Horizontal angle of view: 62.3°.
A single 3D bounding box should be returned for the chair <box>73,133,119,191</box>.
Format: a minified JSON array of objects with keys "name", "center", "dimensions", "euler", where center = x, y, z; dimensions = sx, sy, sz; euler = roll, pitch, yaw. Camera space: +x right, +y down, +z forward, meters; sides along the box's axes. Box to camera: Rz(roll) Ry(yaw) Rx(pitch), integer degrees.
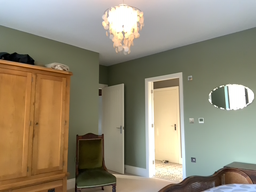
[{"name":"chair","center":[-0.550,1.090,3.480],"dimensions":[0.600,0.900,0.750],"euler":[2,-6,-19]}]
